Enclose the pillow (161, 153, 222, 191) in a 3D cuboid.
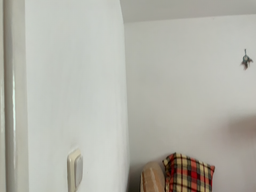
[{"bbox_3d":[0.690,0.980,2.370,0.580,0.570,0.360,-3,-2,4],"label":"pillow"}]
